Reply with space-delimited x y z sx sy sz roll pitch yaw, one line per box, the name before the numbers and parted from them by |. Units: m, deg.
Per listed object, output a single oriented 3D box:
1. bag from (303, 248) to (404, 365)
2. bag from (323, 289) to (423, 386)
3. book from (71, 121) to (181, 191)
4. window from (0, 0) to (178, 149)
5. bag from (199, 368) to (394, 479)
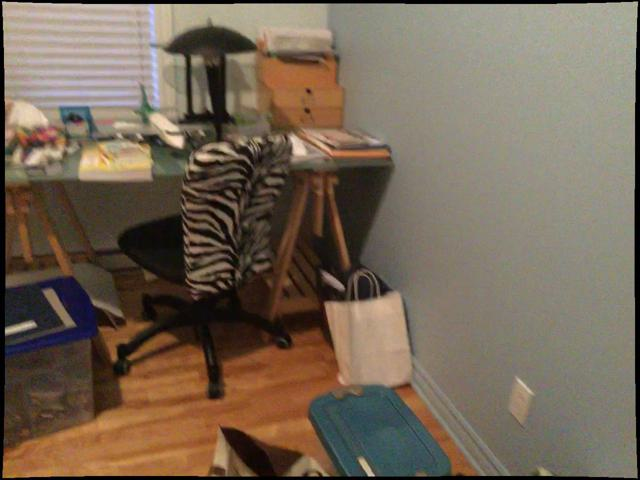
bag | 0.120 0.250 2.270 0.280 0.310 0.300 -7 27 -19
bag | 0.190 0.360 2.140 0.250 0.300 0.230 -7 -9 -19
book | -0.649 -0.290 1.920 0.310 0.110 0.370 -7 27 -19
window | -1.199 -1.091 2.180 1.289 1.461 0.140 -1 26 -19
bag | -0.070 0.631 1.430 0.360 0.330 0.490 -7 27 -19
